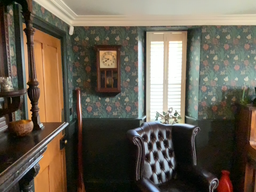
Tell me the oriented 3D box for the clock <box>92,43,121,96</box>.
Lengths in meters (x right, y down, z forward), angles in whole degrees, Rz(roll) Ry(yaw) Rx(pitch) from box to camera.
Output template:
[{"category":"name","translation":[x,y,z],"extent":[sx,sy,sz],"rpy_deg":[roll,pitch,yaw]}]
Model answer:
[{"category":"clock","translation":[-0.270,-0.340,2.780],"extent":[0.350,0.660,0.210],"rpy_deg":[-1,7,-4]}]
